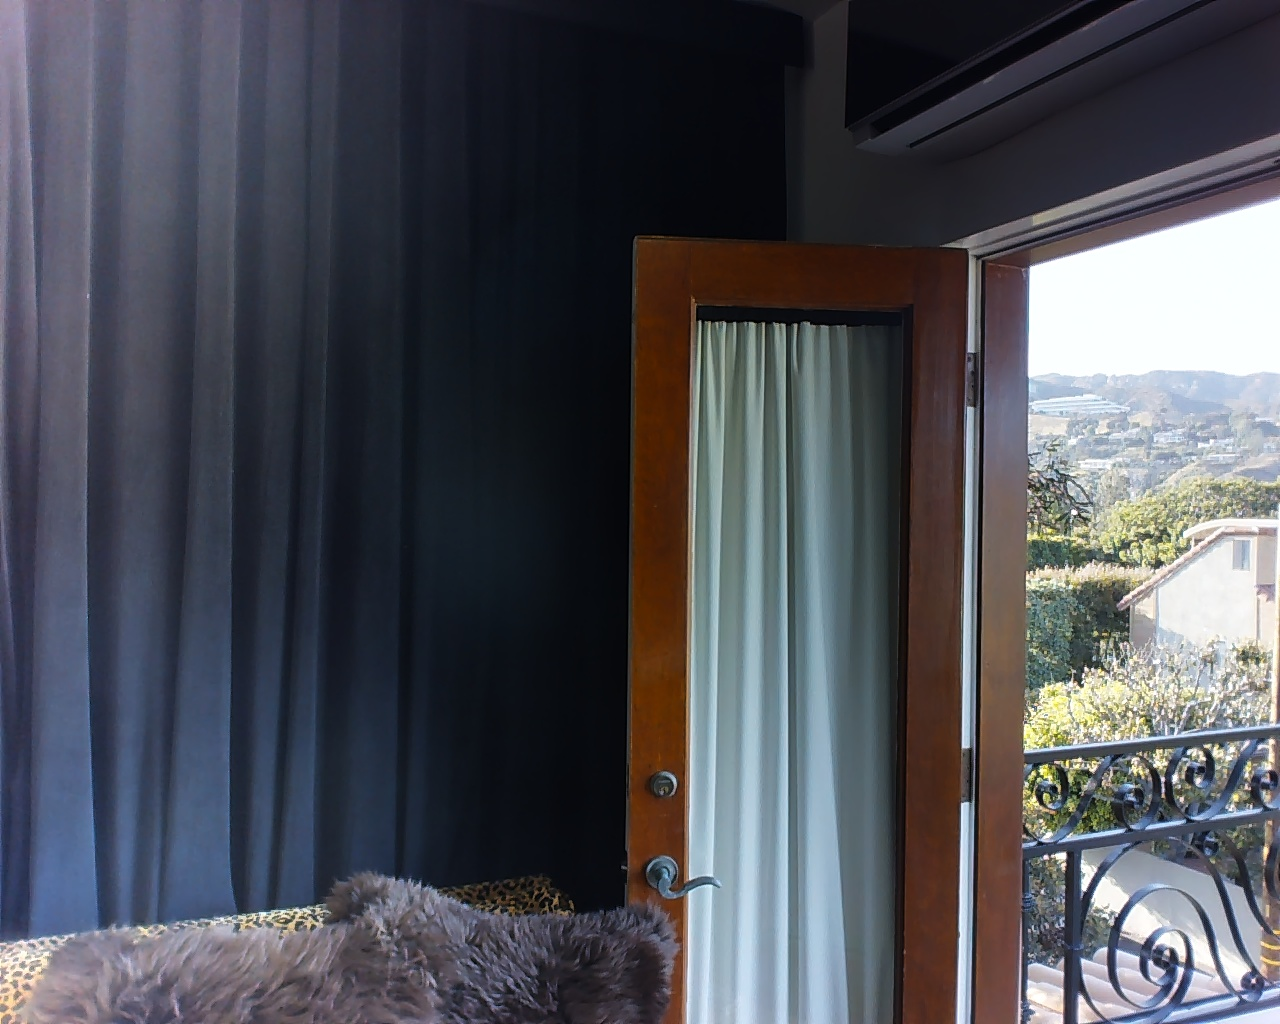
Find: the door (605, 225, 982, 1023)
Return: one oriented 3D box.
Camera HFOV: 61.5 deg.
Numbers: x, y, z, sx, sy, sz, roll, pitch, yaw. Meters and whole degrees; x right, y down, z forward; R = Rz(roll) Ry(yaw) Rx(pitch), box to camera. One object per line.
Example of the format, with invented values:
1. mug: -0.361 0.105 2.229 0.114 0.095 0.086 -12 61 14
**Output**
1. door: 0.270 0.530 1.970 0.650 2.061 0.090 1 1 -4
